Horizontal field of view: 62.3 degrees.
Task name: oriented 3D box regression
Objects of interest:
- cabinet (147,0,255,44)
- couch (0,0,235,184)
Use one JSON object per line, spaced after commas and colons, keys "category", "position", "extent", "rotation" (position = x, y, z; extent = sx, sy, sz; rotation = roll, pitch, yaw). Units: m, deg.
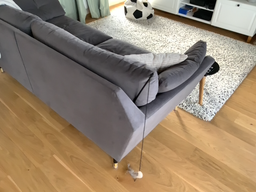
{"category": "cabinet", "position": [1.170, -1.430, 3.390], "extent": [1.830, 0.480, 0.430], "rotation": [32, 49, 30]}
{"category": "couch", "position": [-0.410, -0.440, 1.920], "extent": [2.110, 0.800, 1.020], "rotation": [30, 48, 29]}
